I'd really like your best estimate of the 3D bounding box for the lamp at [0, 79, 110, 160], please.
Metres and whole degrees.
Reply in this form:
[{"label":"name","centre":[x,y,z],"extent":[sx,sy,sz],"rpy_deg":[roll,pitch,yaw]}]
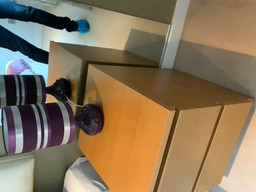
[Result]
[{"label":"lamp","centre":[-0.280,0.060,0.780],"extent":[0.210,0.340,0.180],"rpy_deg":[34,119,46]}]
